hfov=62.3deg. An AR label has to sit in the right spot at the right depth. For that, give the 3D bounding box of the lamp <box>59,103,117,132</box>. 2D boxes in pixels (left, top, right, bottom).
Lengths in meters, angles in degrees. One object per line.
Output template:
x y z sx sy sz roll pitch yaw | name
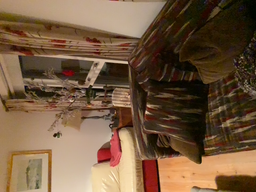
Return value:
-0.710 0.370 3.670 0.480 0.890 0.370 140 127 -62 | lamp

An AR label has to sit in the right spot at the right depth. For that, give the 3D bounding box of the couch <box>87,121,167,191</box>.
-0.040 1.550 3.180 1.120 0.820 2.120 138 129 -61 | couch
